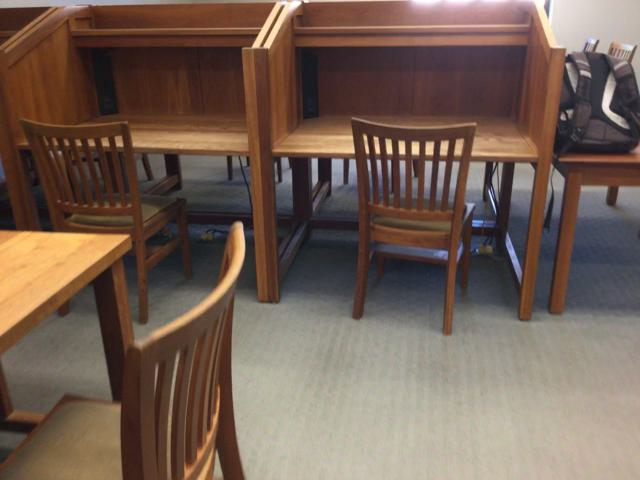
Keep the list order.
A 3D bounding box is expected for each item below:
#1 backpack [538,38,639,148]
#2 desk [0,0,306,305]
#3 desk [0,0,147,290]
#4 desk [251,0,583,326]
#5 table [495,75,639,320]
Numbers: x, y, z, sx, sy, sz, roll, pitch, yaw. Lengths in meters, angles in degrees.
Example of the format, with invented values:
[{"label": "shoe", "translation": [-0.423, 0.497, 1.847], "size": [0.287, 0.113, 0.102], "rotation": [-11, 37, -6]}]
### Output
[{"label": "backpack", "translation": [1.180, -0.620, 2.400], "size": [0.420, 0.380, 0.440], "rotation": [1, 21, 10]}, {"label": "desk", "translation": [-0.820, -0.510, 3.010], "size": [1.260, 1.400, 0.880], "rotation": [1, 21, 10]}, {"label": "desk", "translation": [-1.680, -0.530, 3.090], "size": [1.000, 1.340, 0.820], "rotation": [1, 21, 10]}, {"label": "desk", "translation": [0.440, -0.470, 2.770], "size": [1.200, 1.410, 0.950], "rotation": [1, 21, 10]}, {"label": "table", "translation": [1.560, -0.360, 3.130], "size": [0.960, 0.830, 1.760], "rotation": [1, 21, 10]}]
